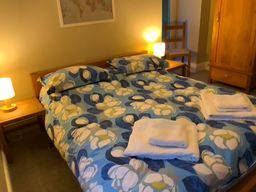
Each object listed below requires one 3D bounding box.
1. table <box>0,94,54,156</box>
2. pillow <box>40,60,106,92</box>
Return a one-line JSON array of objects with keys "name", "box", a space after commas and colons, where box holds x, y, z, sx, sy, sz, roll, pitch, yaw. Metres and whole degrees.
[{"name": "table", "box": [-1.170, 0.290, 2.350, 0.490, 0.420, 0.380, -19, 30, -33]}, {"name": "pillow", "box": [-0.600, -0.240, 2.370, 0.620, 0.150, 0.330, -18, 29, -31]}]
